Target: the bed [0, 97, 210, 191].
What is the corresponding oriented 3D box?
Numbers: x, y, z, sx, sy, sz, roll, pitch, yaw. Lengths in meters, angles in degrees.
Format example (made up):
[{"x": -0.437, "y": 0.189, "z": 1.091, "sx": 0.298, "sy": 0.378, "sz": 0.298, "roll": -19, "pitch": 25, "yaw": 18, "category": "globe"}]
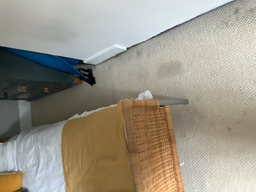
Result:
[{"x": -0.460, "y": 1.000, "z": 1.770, "sx": 2.190, "sy": 0.480, "sz": 1.670, "roll": -11, "pitch": 82, "yaw": 39, "category": "bed"}]
